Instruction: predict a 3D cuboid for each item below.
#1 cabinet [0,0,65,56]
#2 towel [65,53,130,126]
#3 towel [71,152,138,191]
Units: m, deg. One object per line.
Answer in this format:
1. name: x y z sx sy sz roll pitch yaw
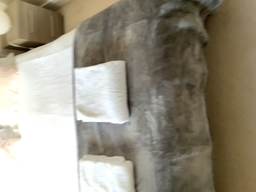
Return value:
1. cabinet: -1.070 -0.750 2.360 0.490 0.520 0.450 -3 88 41
2. towel: -0.190 -0.020 1.180 0.440 0.080 0.350 -4 88 41
3. towel: -0.140 0.520 1.170 0.430 0.090 0.370 -9 84 41
